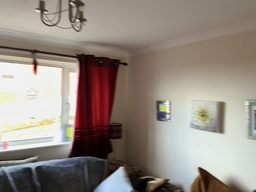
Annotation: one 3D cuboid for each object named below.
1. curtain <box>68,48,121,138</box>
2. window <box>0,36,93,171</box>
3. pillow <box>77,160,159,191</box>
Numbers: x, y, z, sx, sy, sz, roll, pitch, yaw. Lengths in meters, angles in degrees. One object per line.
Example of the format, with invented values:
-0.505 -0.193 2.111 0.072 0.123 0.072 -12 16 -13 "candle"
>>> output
-0.450 -0.040 2.920 0.620 1.110 0.300 1 1 -39 "curtain"
-1.210 0.090 2.660 1.480 1.490 0.320 1 1 -34 "window"
-0.120 0.970 2.250 0.660 0.310 0.590 1 1 -33 "pillow"
